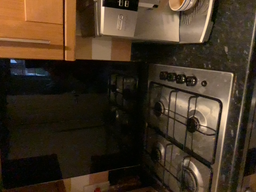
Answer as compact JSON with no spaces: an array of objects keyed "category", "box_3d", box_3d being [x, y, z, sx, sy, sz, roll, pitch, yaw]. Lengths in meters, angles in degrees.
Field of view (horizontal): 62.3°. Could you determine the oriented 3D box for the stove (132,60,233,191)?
[{"category":"stove","box_3d":[0.170,0.140,0.910,0.510,0.050,0.550,-154,64,-62]}]
